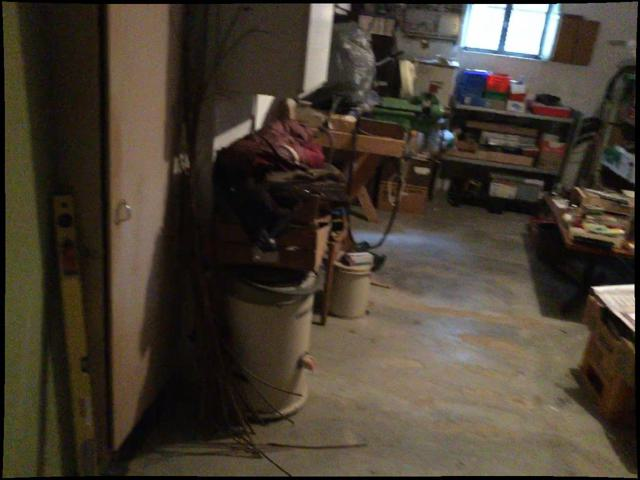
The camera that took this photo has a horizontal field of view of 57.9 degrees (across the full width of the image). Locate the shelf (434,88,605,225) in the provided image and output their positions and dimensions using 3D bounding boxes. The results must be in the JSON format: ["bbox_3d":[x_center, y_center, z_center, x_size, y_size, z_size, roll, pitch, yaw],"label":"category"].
[{"bbox_3d":[1.728,-0.781,5.240,1.199,0.951,0.690,8,22,6],"label":"shelf"}]
